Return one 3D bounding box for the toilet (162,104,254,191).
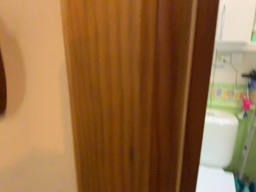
[{"bbox_3d":[0.490,0.560,1.410,0.390,0.780,0.690,8,20,21],"label":"toilet"}]
